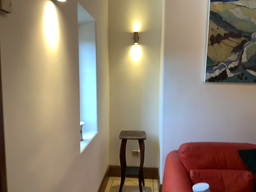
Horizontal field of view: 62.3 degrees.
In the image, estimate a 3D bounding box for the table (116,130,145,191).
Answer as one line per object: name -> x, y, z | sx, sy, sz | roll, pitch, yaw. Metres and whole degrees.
table -> 0.050, 0.900, 2.940 | 0.340, 0.730, 0.490 | 2, 7, 6
